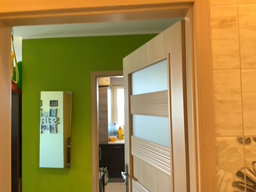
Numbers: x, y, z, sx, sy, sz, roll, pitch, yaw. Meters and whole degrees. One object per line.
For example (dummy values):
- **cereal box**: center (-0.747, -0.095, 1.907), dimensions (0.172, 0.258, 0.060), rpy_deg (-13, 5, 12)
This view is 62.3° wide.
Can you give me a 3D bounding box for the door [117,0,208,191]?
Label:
- **door**: center (0.130, 0.660, 1.320), dimensions (0.120, 2.080, 1.000), rpy_deg (0, -2, -17)
